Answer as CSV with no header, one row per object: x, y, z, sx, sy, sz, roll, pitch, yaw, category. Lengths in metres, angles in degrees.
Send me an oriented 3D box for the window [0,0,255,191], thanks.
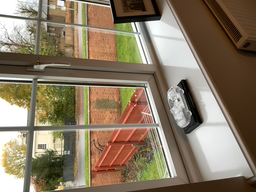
-0.380,-0.420,0.950,0.330,1.090,1.730,118,147,-50,window
